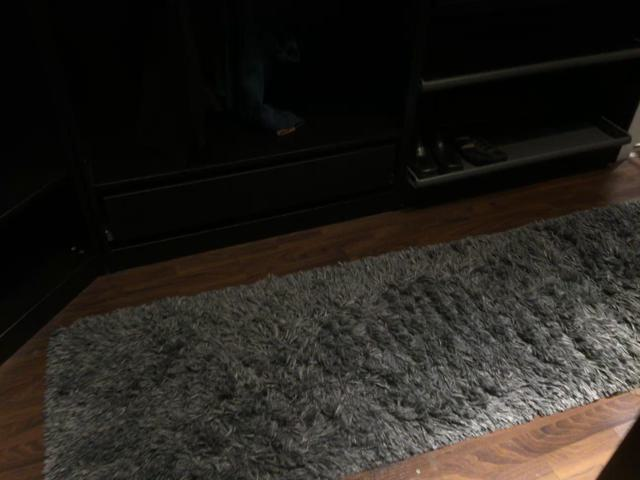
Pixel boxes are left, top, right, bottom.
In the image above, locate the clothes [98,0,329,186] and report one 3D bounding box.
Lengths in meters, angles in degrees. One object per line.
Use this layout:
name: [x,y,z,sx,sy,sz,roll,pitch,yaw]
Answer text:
clothes: [-0.330,-0.600,1.700,0.540,0.590,0.520,-16,41,-15]
